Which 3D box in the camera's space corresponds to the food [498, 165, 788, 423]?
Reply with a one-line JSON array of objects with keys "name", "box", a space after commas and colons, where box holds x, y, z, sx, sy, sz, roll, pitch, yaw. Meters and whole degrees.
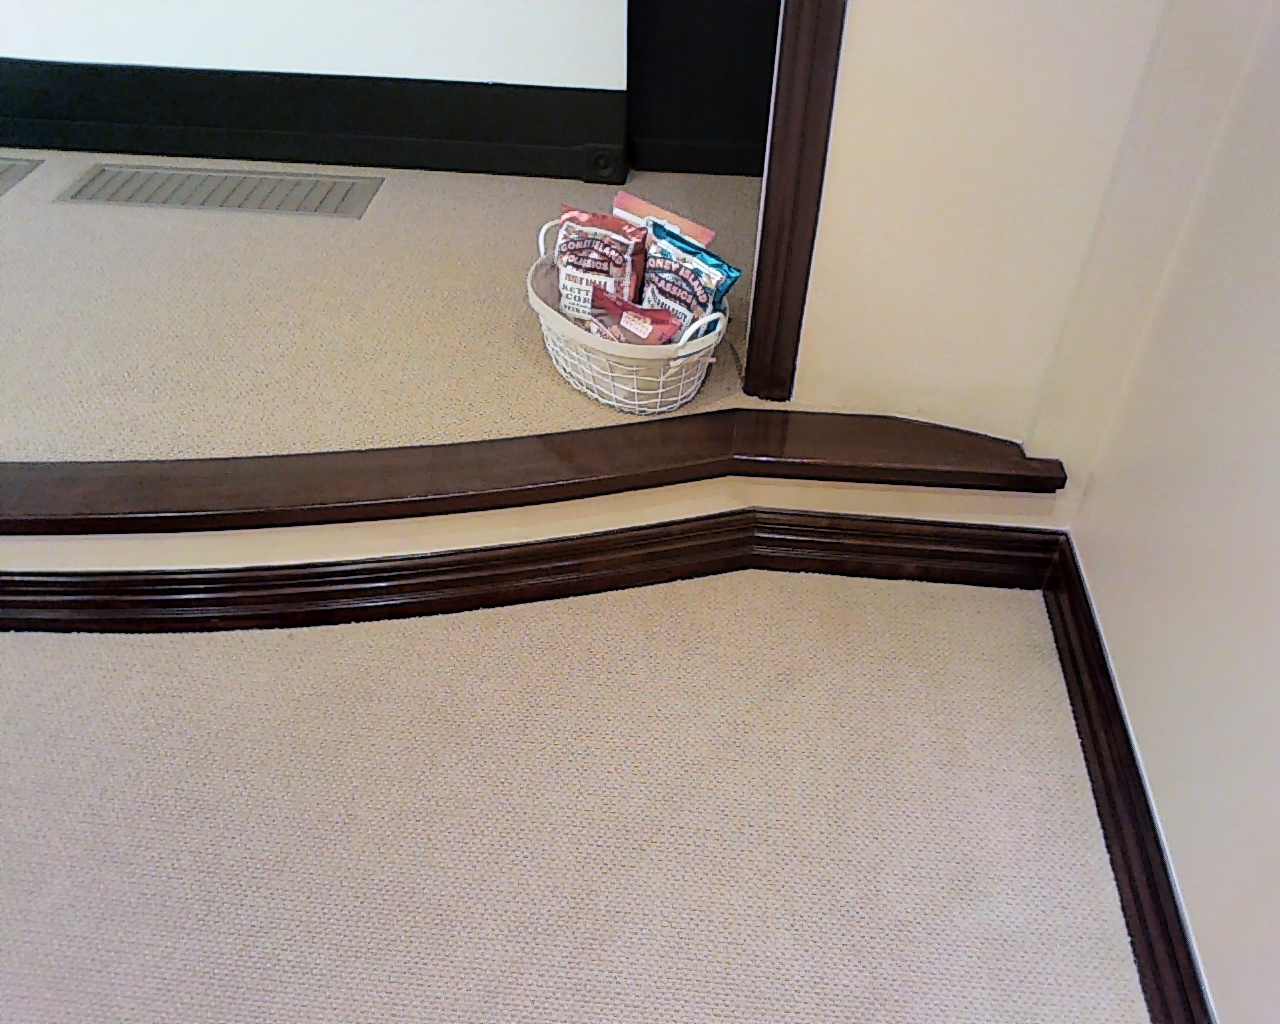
[{"name": "food", "box": [-0.010, -0.440, 2.110, 0.500, 0.300, 0.460, -2, 41, -3]}]
